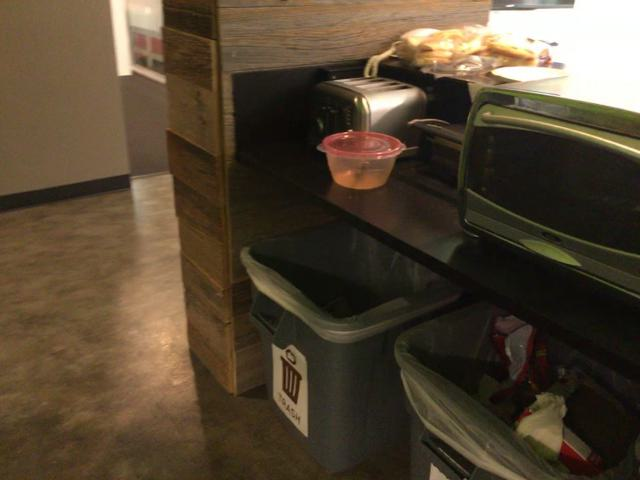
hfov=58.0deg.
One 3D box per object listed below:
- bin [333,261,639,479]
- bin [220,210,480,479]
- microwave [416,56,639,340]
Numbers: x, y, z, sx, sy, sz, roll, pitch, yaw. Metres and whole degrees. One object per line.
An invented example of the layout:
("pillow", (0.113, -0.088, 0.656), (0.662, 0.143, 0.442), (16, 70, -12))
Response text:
("bin", (0.440, 0.500, 1.380), (0.540, 0.590, 0.620), (-14, 30, -31))
("bin", (0.060, 0.320, 1.770), (0.520, 0.590, 0.540), (-14, 30, -31))
("microwave", (0.500, -0.110, 1.000), (0.350, 0.310, 0.550), (-14, 30, -31))
